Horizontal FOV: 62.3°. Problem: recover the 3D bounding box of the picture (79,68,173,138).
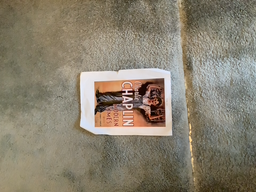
[{"bbox_3d":[-0.010,0.020,0.670,0.300,0.020,0.210,0,88,11],"label":"picture"}]
